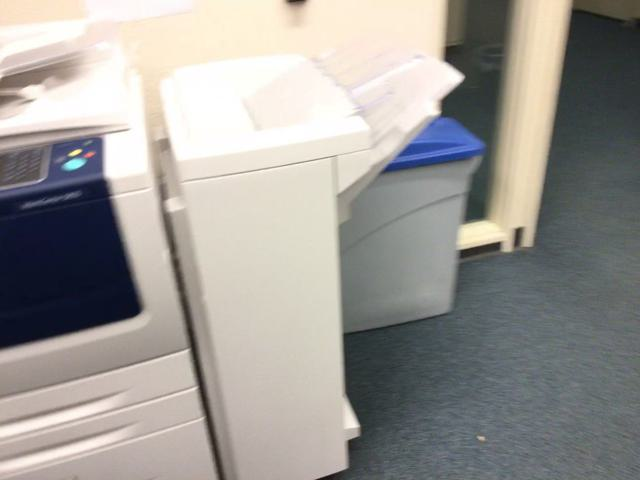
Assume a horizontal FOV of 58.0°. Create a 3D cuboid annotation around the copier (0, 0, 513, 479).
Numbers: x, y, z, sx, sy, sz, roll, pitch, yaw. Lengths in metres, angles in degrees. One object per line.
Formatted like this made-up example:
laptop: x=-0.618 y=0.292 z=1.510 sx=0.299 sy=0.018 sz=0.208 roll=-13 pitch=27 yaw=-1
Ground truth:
copier: x=-0.330 y=0.060 z=1.370 sx=1.280 sy=1.110 sz=0.640 roll=-15 pitch=33 yaw=-12
